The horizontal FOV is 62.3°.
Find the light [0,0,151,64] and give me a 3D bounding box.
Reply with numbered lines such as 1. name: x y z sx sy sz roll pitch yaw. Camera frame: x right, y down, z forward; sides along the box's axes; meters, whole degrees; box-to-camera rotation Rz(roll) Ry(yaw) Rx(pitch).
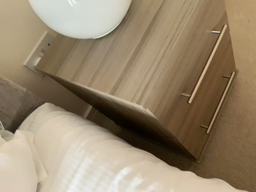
1. light: -0.120 -0.270 0.480 0.260 0.230 0.270 19 74 38
